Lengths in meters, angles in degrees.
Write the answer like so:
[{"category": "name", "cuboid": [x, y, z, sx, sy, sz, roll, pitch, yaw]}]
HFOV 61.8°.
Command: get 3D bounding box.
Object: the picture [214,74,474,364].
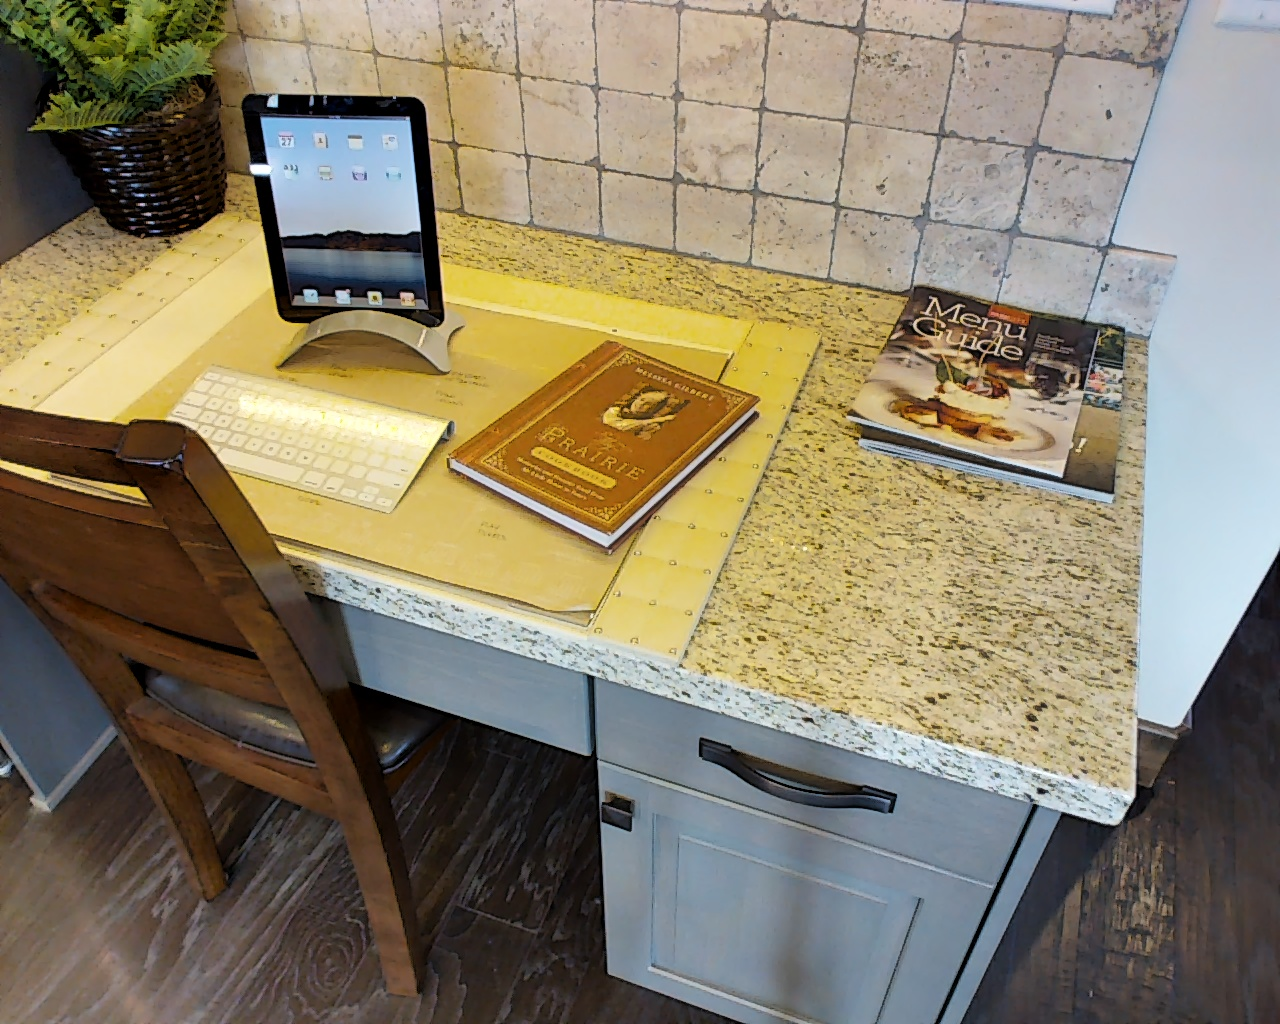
[{"category": "picture", "cuboid": [-0.290, -0.300, 1.110, 0.200, 0.250, 0.140, -2, 42, -2]}]
